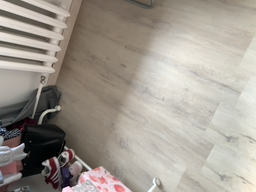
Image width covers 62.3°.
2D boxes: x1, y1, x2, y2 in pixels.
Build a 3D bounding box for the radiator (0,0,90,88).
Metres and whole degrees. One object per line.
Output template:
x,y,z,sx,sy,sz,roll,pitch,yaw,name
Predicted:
-0.630,-0.360,1.380,0.240,0.690,0.540,21,101,30,radiator
